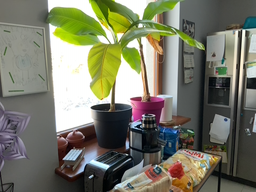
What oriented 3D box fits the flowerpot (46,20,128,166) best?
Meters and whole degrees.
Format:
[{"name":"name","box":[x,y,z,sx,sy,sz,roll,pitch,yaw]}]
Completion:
[{"name":"flowerpot","box":[-0.290,-0.040,1.650,0.350,0.950,0.480,7,11,36]}]

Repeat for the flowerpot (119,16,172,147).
[{"name":"flowerpot","box":[0.150,-0.120,1.840,0.290,1.000,0.340,8,13,43]}]
